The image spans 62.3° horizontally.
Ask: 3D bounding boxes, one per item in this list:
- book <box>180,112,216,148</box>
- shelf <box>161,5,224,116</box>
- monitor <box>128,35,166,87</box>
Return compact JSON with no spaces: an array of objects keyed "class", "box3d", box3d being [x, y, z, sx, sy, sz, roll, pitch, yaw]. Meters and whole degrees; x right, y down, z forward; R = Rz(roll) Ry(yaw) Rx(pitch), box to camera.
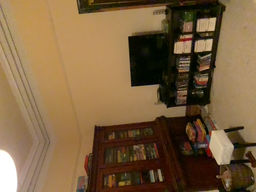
[{"class":"book","box3d":[1.360,0.670,4.220,0.520,0.500,0.440,-97,3,-59]},{"class":"shelf","box3d":[1.100,-0.560,3.970,0.370,0.850,2.020,-97,3,-57]},{"class":"monitor","box3d":[0.350,-0.610,3.890,0.050,0.640,0.950,-97,3,-57]}]
